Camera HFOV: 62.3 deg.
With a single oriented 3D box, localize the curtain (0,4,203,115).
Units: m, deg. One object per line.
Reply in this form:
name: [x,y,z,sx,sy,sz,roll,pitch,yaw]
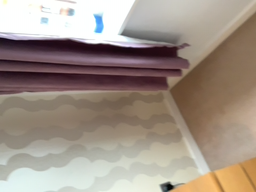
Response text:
curtain: [-0.500,-0.140,1.040,0.500,1.920,0.260,-47,54,49]
